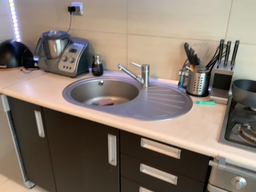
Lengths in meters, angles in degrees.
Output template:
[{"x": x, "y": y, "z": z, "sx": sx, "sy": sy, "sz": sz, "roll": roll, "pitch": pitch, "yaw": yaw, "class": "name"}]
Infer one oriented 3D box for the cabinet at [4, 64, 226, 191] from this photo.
[{"x": -0.090, "y": 0.360, "z": 1.440, "sx": 1.180, "sy": 0.870, "sz": 0.600, "roll": 13, "pitch": 27, "yaw": 25, "class": "cabinet"}]
